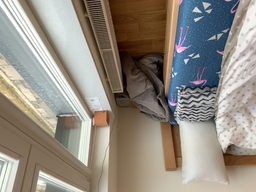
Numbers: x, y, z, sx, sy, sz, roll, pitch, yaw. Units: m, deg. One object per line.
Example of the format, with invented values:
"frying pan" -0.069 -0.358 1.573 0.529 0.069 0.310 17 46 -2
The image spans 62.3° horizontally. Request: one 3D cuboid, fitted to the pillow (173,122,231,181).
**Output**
"pillow" 0.620 0.500 1.880 0.350 0.420 0.330 -3 149 3
